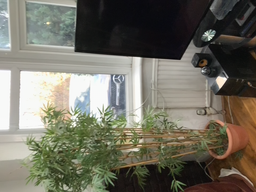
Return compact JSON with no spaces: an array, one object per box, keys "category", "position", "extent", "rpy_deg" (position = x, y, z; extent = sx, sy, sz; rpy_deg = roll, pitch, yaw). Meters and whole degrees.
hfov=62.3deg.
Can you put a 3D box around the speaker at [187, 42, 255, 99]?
[{"category":"speaker","position":[0.790,-0.210,1.660],"extent":[0.480,0.430,0.190],"rpy_deg":[-109,26,-46]}]
